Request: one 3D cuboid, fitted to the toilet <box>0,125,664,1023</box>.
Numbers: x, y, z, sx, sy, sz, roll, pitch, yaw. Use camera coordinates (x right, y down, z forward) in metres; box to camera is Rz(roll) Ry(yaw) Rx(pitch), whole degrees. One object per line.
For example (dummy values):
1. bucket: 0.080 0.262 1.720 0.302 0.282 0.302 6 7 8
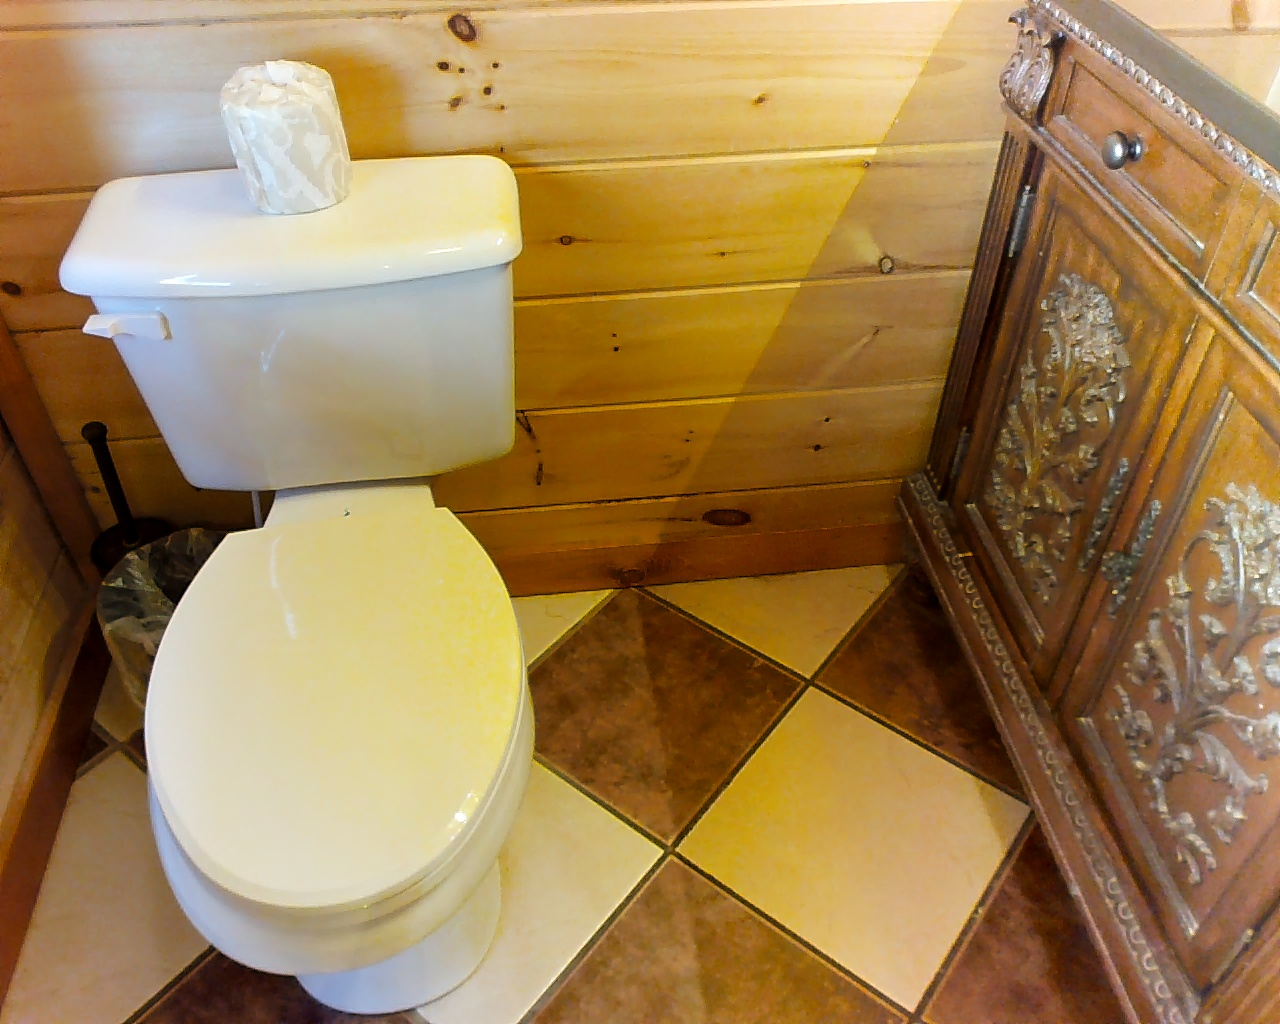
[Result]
1. toilet: -0.300 0.100 1.150 0.550 0.700 0.790 -5 42 -4
